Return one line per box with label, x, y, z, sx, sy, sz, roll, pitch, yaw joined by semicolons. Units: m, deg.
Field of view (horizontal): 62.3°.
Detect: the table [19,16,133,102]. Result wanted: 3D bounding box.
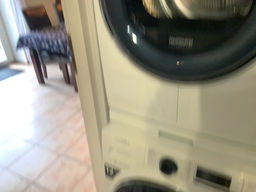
table;-0.730;-0.760;3.660;0.820;0.870;1.710;16;35;31
